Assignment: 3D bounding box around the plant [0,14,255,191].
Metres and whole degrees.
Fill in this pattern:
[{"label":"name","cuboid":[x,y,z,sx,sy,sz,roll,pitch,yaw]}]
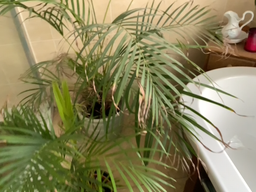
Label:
[{"label":"plant","cuboid":[-0.170,0.260,0.930,0.820,0.960,0.620,-6,39,-4]}]
